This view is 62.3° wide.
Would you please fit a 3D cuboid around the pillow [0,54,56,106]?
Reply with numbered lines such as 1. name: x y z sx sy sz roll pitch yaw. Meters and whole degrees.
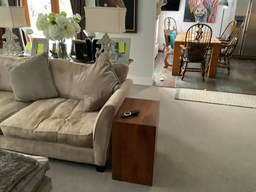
1. pillow: -1.150 -0.180 2.460 0.530 0.520 0.140 -8 -2 -5
